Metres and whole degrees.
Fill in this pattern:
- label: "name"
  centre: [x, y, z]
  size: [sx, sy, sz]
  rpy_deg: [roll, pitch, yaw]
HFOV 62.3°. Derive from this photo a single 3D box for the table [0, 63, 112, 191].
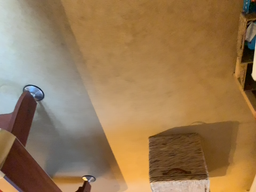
- label: "table"
  centre: [-0.940, 0.820, 1.930]
  size: [1.060, 0.790, 1.980]
  rpy_deg: [-7, 131, 10]
